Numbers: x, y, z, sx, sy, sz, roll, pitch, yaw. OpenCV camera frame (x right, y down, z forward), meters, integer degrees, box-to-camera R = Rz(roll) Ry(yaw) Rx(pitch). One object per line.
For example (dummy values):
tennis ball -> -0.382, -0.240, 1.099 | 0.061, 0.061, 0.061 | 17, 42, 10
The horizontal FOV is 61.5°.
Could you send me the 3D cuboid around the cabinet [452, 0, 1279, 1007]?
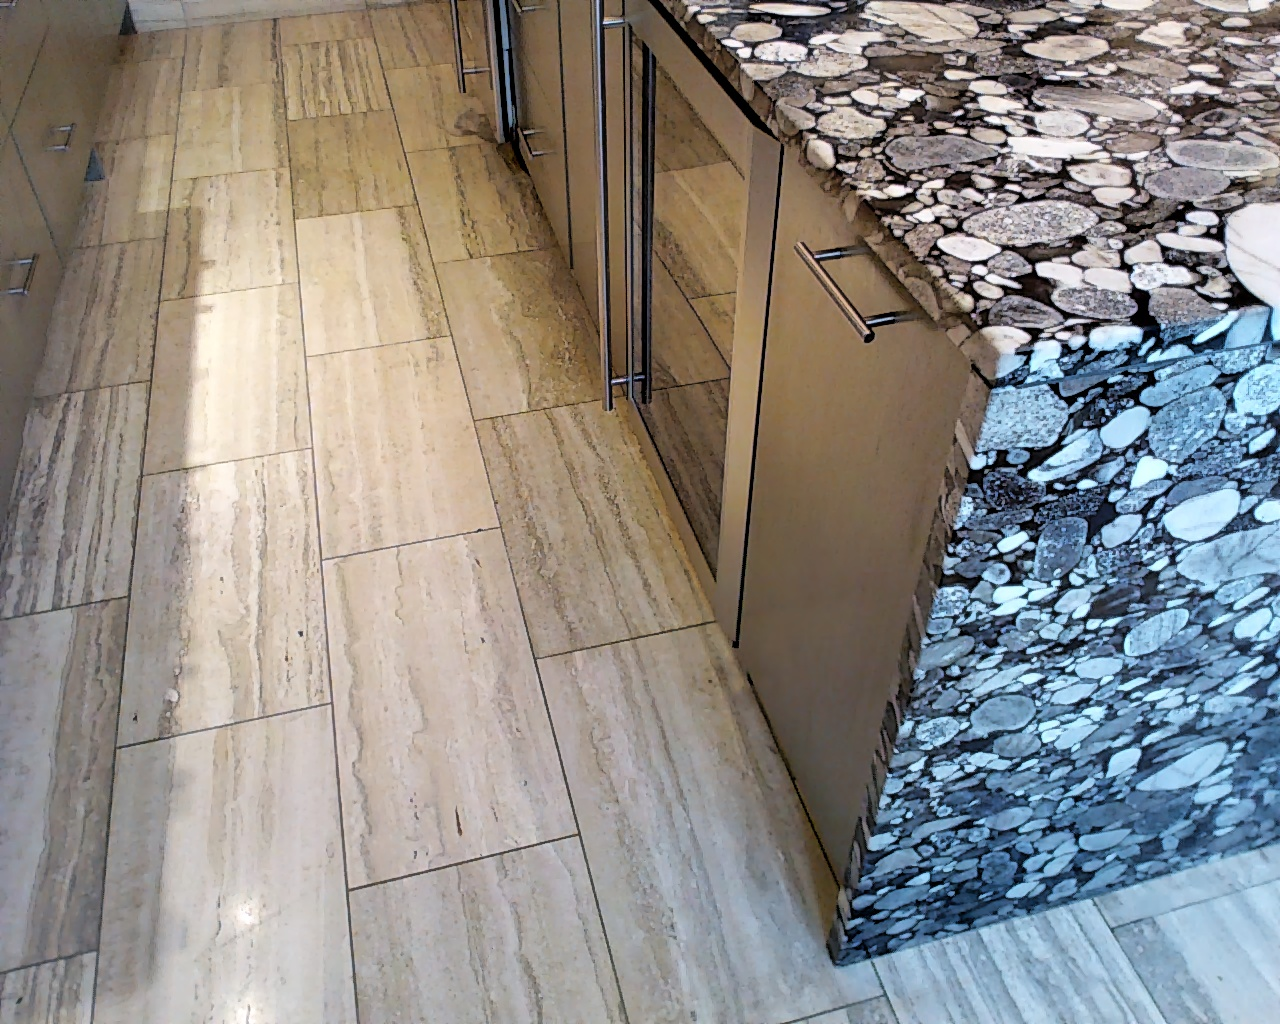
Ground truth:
cabinet -> 0.320, -0.700, 2.000 | 1.020, 0.950, 2.620 | -10, 43, -11
